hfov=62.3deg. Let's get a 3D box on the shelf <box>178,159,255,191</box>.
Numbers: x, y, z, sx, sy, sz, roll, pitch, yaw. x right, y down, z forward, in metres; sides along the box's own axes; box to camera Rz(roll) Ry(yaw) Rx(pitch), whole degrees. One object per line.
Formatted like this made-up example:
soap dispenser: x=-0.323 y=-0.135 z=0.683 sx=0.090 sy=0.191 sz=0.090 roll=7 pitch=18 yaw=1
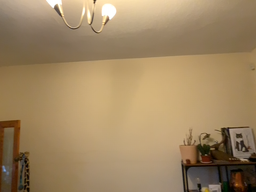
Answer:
shelf: x=1.230 y=1.510 z=2.670 sx=1.050 sy=1.330 sz=0.350 roll=-3 pitch=-10 yaw=5
